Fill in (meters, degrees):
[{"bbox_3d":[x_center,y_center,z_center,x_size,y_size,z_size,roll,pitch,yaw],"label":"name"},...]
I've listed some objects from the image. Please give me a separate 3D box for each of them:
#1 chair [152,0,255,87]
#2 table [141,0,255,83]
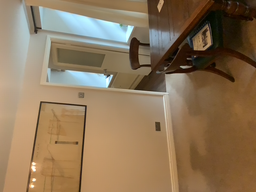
[{"bbox_3d":[0.710,-0.460,2.020,0.470,0.800,0.550,131,140,-65],"label":"chair"},{"bbox_3d":[0.720,-0.940,2.250,1.170,0.740,1.160,129,142,-63],"label":"table"}]
